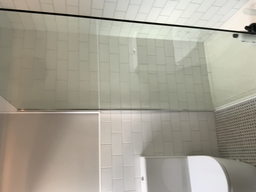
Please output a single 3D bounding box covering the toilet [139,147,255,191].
[{"bbox_3d":[0.570,0.630,1.700,0.610,0.810,0.380,132,137,-70],"label":"toilet"}]
